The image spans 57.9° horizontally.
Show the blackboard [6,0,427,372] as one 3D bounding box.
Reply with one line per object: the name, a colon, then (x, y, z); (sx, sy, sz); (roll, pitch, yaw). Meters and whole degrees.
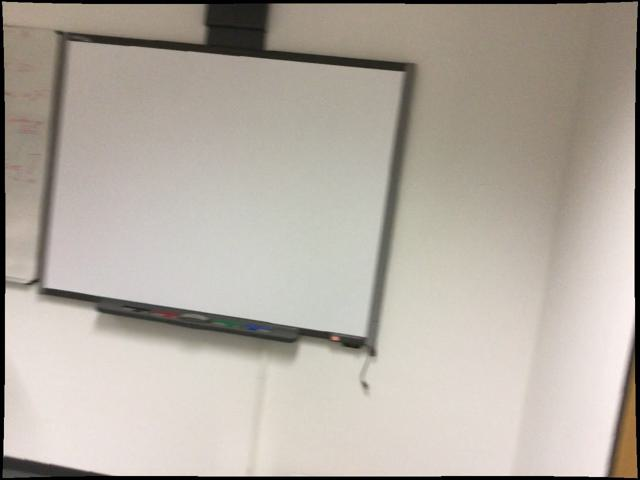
blackboard: (-0.529, -0.280, 2.610); (1.798, 1.411, 0.240); (9, 11, 10)
